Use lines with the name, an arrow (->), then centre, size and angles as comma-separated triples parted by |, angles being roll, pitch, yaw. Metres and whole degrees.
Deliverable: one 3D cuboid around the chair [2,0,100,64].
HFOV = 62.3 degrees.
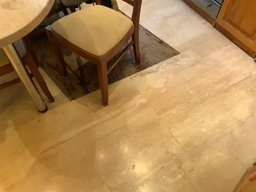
chair -> -0.590, -0.810, 1.470 | 0.580, 1.000, 0.420 | -29, 61, -20
